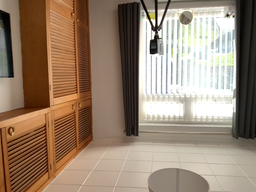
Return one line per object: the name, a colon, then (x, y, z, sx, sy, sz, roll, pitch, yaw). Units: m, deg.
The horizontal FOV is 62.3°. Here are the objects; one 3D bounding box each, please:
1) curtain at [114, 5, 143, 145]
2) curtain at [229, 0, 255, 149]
curtain: (0.020, -0.270, 3.060, 0.370, 1.920, 0.210, 0, -175, 7)
curtain: (1.640, -0.300, 2.840, 0.390, 1.990, 0.260, 0, -175, 9)
